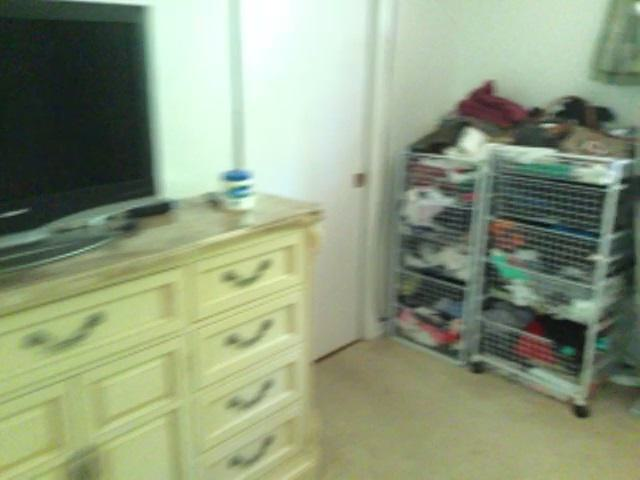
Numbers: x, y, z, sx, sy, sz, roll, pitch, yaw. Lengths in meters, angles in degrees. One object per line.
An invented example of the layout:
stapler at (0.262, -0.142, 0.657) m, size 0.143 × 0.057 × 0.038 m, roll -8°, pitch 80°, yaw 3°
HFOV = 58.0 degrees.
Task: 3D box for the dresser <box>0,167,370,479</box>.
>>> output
dresser at (-0.730, 0.460, 1.610) m, size 1.770 × 1.070 × 0.720 m, roll -16°, pitch 20°, yaw -41°
